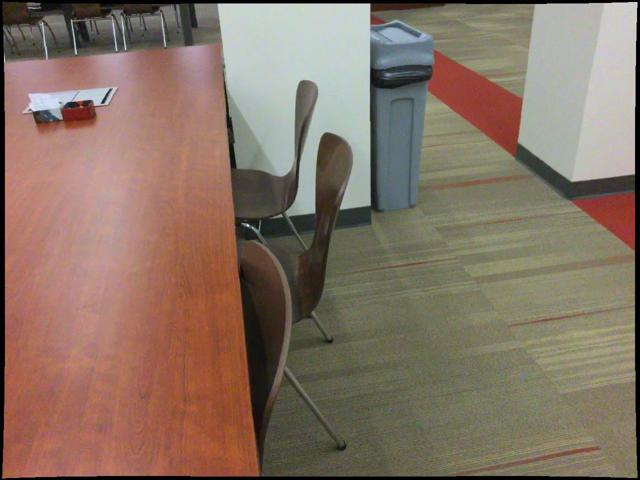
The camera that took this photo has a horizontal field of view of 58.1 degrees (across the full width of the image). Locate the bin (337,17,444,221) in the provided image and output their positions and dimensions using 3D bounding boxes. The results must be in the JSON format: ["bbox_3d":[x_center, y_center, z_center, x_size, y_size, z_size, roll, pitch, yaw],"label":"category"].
[{"bbox_3d":[0.339,-0.622,2.930,0.359,0.862,0.520,-9,31,-9],"label":"bin"}]
